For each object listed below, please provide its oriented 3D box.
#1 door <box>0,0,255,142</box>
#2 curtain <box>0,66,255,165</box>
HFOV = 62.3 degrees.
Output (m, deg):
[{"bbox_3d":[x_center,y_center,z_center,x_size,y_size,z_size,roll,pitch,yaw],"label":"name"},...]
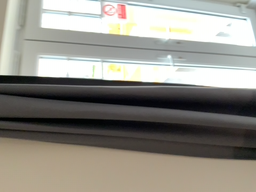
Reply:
[{"bbox_3d":[0.260,-0.260,1.740,0.310,2.180,1.120,129,139,-66],"label":"door"},{"bbox_3d":[0.220,0.100,1.100,0.250,2.330,0.360,126,142,-65],"label":"curtain"}]
